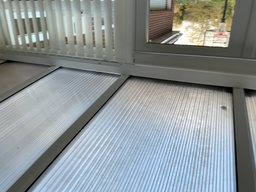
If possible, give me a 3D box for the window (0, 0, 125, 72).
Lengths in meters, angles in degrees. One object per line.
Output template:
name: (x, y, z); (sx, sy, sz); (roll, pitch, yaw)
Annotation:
window: (-0.580, -0.960, 1.430); (1.170, 1.530, 0.040); (8, -155, 17)
